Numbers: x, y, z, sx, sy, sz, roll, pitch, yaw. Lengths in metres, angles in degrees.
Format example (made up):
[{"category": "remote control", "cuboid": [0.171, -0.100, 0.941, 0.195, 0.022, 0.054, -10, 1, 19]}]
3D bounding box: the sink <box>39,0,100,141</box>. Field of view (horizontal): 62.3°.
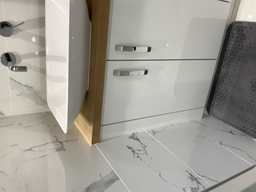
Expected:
[{"category": "sink", "cuboid": [-0.270, -0.180, 0.900, 0.400, 0.110, 0.600, 33, 123, 50]}]
